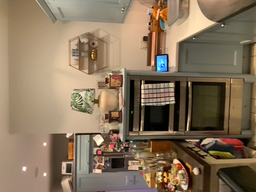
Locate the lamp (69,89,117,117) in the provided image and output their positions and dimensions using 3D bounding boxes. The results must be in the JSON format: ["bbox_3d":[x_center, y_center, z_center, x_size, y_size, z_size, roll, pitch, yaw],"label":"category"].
[{"bbox_3d":[-0.380,0.070,2.320,0.250,0.490,0.270,-152,64,-80],"label":"lamp"}]
